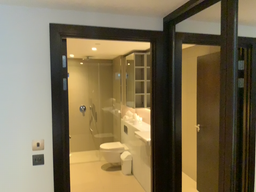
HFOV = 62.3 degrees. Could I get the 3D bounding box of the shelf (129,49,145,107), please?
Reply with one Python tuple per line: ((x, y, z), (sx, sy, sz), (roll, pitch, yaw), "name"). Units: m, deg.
((0.170, -0.340, 4.060), (0.220, 1.080, 0.230), (-2, 3, -13), "shelf")
